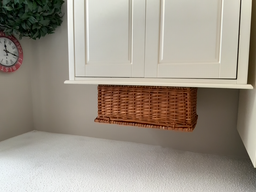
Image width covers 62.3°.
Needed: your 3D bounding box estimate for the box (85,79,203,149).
[{"bbox_3d":[0.140,0.060,1.360,0.620,0.300,0.540,3,-172,20],"label":"box"}]
